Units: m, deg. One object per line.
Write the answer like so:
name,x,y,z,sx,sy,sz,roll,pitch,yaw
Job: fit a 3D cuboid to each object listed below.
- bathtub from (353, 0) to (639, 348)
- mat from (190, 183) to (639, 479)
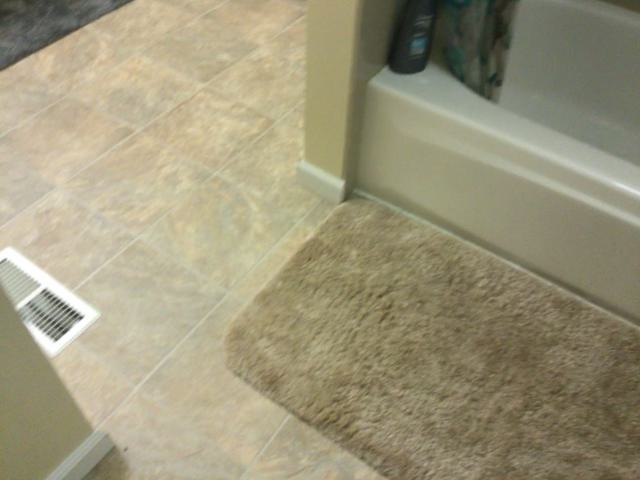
bathtub,0.920,-0.260,1.330,1.440,0.750,0.760,30,54,20
mat,0.300,0.280,1.300,0.970,0.050,0.660,29,54,20
